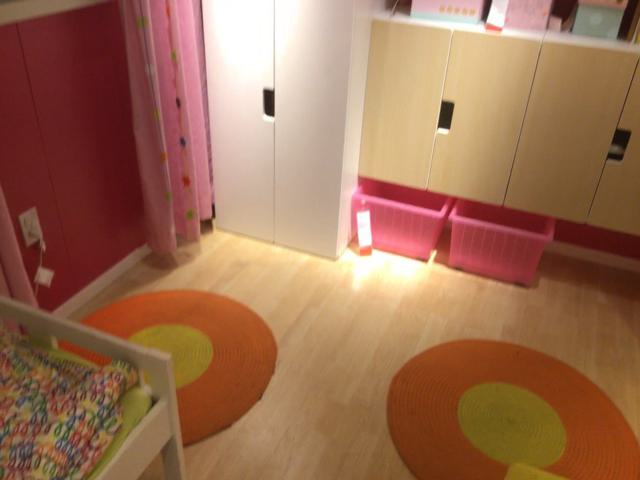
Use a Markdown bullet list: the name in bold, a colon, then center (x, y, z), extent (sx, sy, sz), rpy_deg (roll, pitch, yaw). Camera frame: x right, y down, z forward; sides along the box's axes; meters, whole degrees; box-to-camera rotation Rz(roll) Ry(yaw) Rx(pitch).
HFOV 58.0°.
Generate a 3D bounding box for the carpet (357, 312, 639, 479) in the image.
- **carpet**: center (0.570, 0.530, 1.710), extent (0.720, 0.070, 0.660), rpy_deg (14, 36, 22)

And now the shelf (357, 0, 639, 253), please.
- **shelf**: center (0.780, -0.680, 1.940), extent (1.210, 1.270, 0.360), rpy_deg (14, 34, 21)

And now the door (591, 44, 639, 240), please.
- **door**: center (1.120, -0.310, 1.870), extent (0.300, 0.610, 0.200), rpy_deg (14, 34, 21)

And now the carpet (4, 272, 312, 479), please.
- **carpet**: center (-0.500, 0.390, 1.930), extent (0.710, 0.050, 0.700), rpy_deg (14, 34, 21)

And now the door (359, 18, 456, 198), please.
- **door**: center (0.310, -0.480, 2.160), extent (0.310, 0.630, 0.050), rpy_deg (14, 34, 21)
